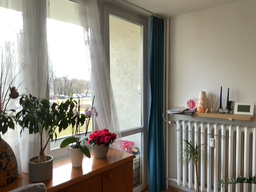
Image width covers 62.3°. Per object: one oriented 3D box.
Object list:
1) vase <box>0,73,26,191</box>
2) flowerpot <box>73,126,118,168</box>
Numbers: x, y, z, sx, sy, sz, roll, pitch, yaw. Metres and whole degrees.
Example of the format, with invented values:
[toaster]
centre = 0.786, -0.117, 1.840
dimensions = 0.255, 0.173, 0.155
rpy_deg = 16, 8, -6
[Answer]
[vase]
centre = -0.870, 0.240, 1.440
dimensions = 0.270, 0.780, 0.140
rpy_deg = -3, 5, -44
[flowerpot]
centre = -0.310, 0.470, 2.040
dimensions = 0.260, 0.280, 0.330
rpy_deg = 3, 5, 42
